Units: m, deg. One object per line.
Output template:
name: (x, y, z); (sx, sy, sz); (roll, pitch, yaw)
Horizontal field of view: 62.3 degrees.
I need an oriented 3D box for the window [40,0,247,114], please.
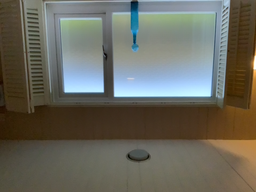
window: (0.150, -0.490, 2.310); (1.970, 1.290, 0.420); (0, -170, 1)
